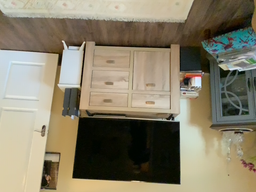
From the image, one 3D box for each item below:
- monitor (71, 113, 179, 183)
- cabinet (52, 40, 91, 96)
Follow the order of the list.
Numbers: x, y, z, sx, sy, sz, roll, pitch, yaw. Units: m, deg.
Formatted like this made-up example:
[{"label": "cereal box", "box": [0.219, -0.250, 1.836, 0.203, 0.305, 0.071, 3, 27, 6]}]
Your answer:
[{"label": "monitor", "box": [-0.020, 0.540, 2.280, 1.110, 0.690, 0.050, 2, 166, 1]}, {"label": "cabinet", "box": [-0.660, -0.320, 2.580, 0.310, 0.540, 0.420, 3, 166, 0]}]
